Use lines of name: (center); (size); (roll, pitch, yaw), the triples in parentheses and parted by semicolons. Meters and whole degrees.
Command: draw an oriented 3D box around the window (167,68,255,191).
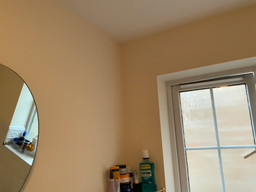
window: (0.840, 0.290, 1.230); (1.180, 0.950, 0.050); (-9, -13, 28)
